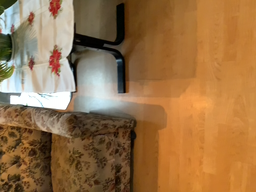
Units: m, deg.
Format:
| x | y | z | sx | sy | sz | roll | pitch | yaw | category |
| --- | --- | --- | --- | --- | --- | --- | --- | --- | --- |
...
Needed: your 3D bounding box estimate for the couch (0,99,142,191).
| x | y | z | sx | sy | sz | roll | pitch | yaw | category |
| --- | --- | --- | --- | --- | --- | --- | --- | --- | --- |
| -0.550 | 0.440 | 1.300 | 0.880 | 0.920 | 0.780 | 3 | 94 | 45 | couch |
